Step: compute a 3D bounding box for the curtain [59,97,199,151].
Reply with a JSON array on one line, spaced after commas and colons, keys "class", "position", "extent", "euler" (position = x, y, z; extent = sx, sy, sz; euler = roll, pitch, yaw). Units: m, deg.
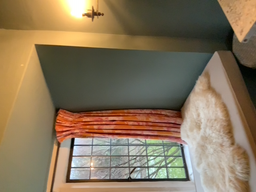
[{"class": "curtain", "position": [0.000, 0.300, 2.190], "extent": [0.450, 1.270, 0.340], "euler": [98, 171, -49]}]
